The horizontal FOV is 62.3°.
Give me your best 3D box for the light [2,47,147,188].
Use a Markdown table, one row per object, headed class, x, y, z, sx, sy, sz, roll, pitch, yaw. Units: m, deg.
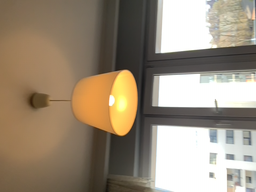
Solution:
| class | x | y | z | sx | sy | sz | roll | pitch | yaw |
| --- | --- | --- | --- | --- | --- | --- | --- | --- | --- |
| light | -0.280 | 0.080 | 1.180 | 0.560 | 0.400 | 0.420 | -33 | -140 | -19 |
